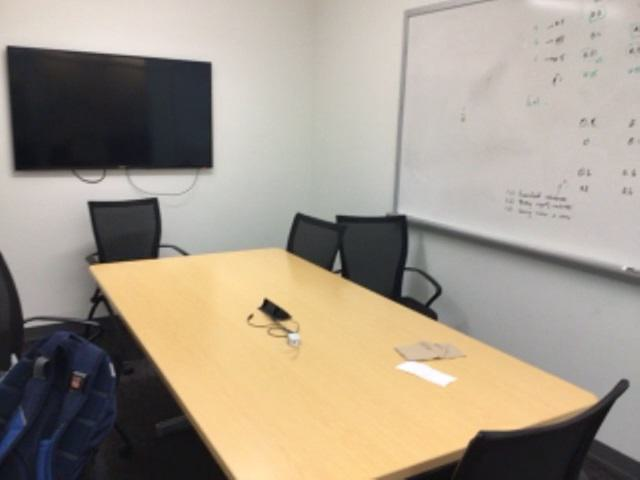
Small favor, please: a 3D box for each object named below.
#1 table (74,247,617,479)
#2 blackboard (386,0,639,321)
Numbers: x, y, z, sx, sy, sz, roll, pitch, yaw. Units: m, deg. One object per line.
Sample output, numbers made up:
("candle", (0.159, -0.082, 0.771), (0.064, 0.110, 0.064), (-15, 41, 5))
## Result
("table", (-0.210, 0.630, 2.170), (1.160, 0.740, 2.000), (-5, 13, -25))
("blackboard", (1.020, -0.430, 2.340), (0.190, 1.270, 2.420), (-5, 13, -25))
